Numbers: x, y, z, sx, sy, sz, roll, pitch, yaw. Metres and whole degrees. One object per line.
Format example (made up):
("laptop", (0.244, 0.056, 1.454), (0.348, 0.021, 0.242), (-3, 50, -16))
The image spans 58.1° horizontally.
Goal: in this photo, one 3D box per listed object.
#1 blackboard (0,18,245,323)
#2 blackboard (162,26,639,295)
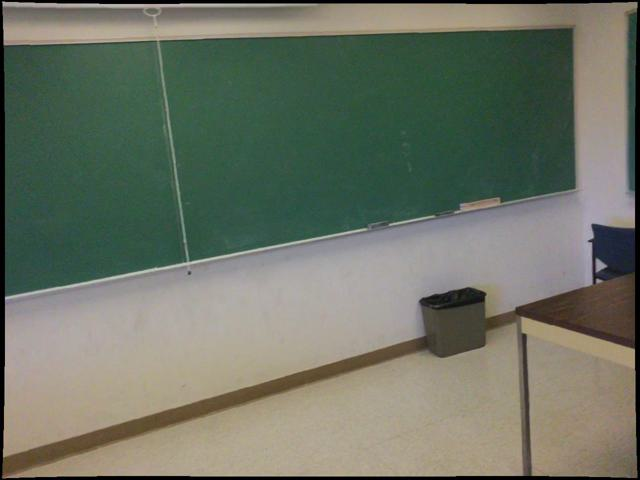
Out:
("blackboard", (-2.095, -0.201, 2.620), (3.383, 1.373, 0.220), (-10, 13, -20))
("blackboard", (0.738, -0.622, 3.760), (3.233, 1.283, 0.350), (-10, 13, -20))
